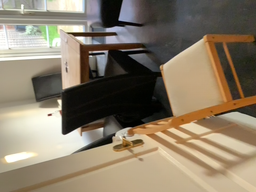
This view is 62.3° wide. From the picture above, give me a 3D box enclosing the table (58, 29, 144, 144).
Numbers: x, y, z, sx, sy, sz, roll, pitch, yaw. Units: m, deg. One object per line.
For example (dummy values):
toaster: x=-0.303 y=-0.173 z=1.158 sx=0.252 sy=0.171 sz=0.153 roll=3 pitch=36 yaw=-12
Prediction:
table: x=-0.410 y=-0.180 z=2.770 sx=0.840 sy=0.760 sz=1.180 roll=41 pitch=132 yaw=50
